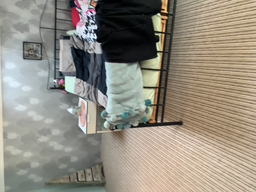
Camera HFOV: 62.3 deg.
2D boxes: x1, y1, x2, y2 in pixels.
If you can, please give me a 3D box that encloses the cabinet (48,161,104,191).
[{"bbox_3d":[-0.890,1.360,3.640,0.220,0.880,0.300,-51,46,51],"label":"cabinet"}]
